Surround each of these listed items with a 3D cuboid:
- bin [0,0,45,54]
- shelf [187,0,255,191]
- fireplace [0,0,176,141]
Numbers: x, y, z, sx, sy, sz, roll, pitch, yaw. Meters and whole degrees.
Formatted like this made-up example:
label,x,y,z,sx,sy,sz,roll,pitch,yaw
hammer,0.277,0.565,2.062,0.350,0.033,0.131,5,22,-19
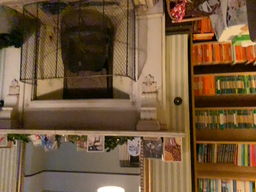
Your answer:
label,x,y,z,sx,sy,sz,roll,pitch,yaw
bin,-1.120,-0.700,2.180,0.340,0.430,0.360,-1,174,13
shelf,1.840,0.110,1.900,2.470,2.080,0.390,-1,174,14
fireplace,-0.470,-0.290,1.990,1.770,1.270,0.770,-1,174,13
